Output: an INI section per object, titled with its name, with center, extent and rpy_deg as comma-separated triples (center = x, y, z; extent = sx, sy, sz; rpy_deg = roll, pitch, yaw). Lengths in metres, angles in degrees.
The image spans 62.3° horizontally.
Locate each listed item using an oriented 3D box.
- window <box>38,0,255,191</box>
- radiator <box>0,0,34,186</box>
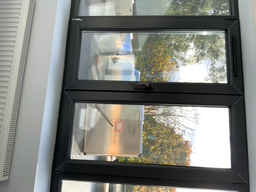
[window]
center = 0.150, -0.010, 1.530
extent = 0.080, 1.400, 2.380
rpy_deg = 71, 22, -76
[radiator]
center = -0.960, -0.130, 1.330
extent = 0.080, 0.560, 1.270
rpy_deg = 68, 25, -78
